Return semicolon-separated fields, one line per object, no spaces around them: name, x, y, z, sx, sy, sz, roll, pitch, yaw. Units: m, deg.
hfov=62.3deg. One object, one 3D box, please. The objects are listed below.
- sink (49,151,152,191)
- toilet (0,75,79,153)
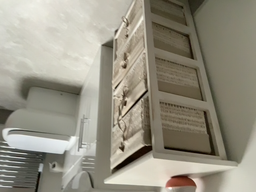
sink;-0.190;0.490;1.160;0.400;0.190;0.580;11;147;-21
toilet;-0.700;0.170;1.720;0.490;0.450;0.370;11;147;-21
